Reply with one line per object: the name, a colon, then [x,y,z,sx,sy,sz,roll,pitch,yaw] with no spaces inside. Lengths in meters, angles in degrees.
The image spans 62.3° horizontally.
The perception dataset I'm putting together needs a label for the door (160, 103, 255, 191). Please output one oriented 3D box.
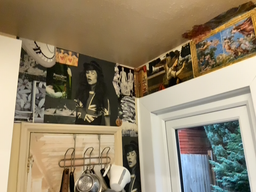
door: [0.540,1.030,1.260,0.050,1.870,0.710,8,-19,-35]
